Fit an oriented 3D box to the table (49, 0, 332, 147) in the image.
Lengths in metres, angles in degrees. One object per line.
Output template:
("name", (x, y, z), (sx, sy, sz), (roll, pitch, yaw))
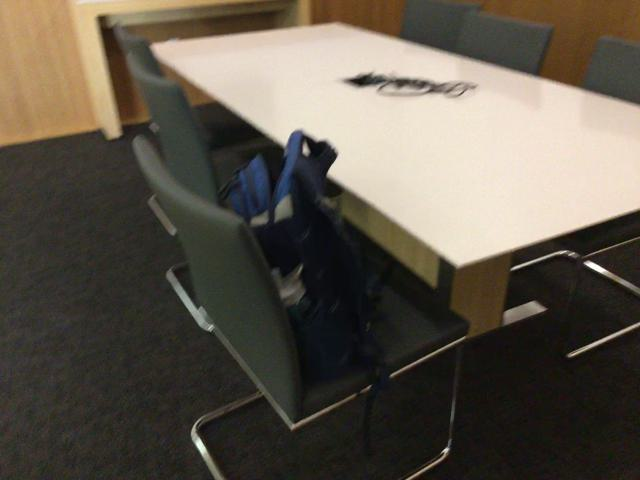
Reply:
("table", (-0.780, -1.270, 3.810), (1.670, 0.880, 0.490), (-16, 33, -23))
